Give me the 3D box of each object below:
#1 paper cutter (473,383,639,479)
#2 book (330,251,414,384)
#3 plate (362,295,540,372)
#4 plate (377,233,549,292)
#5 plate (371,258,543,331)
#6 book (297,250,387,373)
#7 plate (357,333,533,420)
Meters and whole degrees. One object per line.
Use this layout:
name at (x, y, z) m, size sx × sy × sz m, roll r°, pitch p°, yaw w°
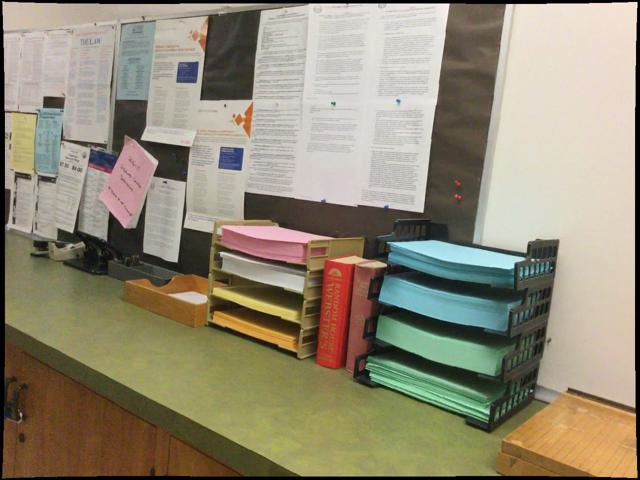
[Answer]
paper cutter at (0.529, 0.381, 0.940) m, size 0.399 × 0.060 × 0.470 m, roll 11°, pitch 10°, yaw 35°
book at (0.130, 0.180, 1.410) m, size 0.100 × 0.281 × 0.180 m, roll 10°, pitch 10°, yaw 35°
plate at (0.299, 0.201, 1.310) m, size 0.319 × 0.050 × 0.250 m, roll 11°, pitch 10°, yaw 35°
plate at (0.319, 0.040, 1.280) m, size 0.290 × 0.060 × 0.260 m, roll 11°, pitch 10°, yaw 35°
plate at (0.309, 0.110, 1.290) m, size 0.290 × 0.070 × 0.260 m, roll 11°, pitch 10°, yaw 35°
book at (0.060, 0.170, 1.460) m, size 0.100 × 0.261 × 0.220 m, roll 10°, pitch 10°, yaw 35°
plate at (0.289, 0.301, 1.330) m, size 0.319 × 0.050 × 0.250 m, roll 11°, pitch 10°, yaw 35°
